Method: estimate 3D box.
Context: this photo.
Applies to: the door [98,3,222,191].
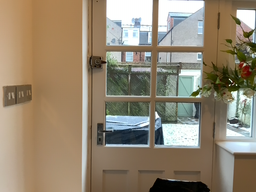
[{"bbox_3d":[0.190,0.310,1.490,0.770,1.820,0.150,2,4,3],"label":"door"}]
